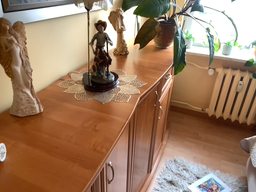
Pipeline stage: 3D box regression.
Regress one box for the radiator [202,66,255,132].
[{"bbox_3d":[1.160,0.030,2.340,0.500,0.580,0.210,18,32,25],"label":"radiator"}]
